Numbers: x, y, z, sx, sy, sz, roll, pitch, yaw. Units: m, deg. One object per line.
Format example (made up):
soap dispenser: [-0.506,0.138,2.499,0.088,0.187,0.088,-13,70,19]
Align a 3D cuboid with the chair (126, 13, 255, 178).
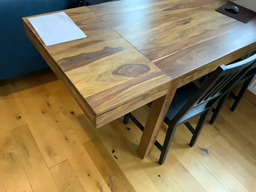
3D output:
chair: [0.370,0.020,1.360,0.480,0.840,0.490,-22,54,-28]
